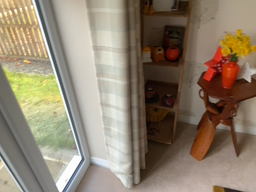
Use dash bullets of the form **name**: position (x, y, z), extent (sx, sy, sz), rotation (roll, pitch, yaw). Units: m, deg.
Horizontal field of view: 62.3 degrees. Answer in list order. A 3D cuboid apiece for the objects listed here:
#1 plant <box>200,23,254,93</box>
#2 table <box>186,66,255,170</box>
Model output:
- **plant**: position (0.630, -0.260, 1.400), extent (0.230, 0.330, 0.320), rotation (8, 38, 15)
- **table**: position (0.710, 0.170, 1.650), extent (0.390, 0.660, 0.390), rotation (9, 38, 16)
